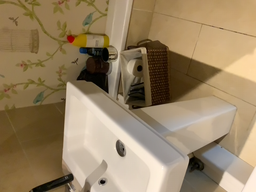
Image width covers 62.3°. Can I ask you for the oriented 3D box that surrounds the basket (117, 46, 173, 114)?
[{"bbox_3d":[0.100,-0.120,1.390,0.290,0.190,0.380,20,113,47],"label":"basket"}]
